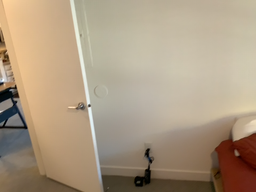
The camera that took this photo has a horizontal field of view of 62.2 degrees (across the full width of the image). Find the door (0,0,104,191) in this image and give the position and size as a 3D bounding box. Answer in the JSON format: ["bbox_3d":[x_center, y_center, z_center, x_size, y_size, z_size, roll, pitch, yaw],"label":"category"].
[{"bbox_3d":[-0.680,-0.070,1.840,0.870,2.000,0.040,6,21,31],"label":"door"}]
